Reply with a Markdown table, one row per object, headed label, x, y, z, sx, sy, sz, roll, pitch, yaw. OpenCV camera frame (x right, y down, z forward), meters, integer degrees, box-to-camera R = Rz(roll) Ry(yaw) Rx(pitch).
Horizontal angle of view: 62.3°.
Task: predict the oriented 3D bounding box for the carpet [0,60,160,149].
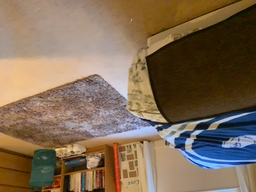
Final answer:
| label | x | y | z | sx | sy | sz | roll | pitch | yaw |
| --- | --- | --- | --- | --- | --- | --- | --- | --- | --- |
| carpet | -0.700 | 0.270 | 2.430 | 1.780 | 0.080 | 1.340 | -15 | 148 | 20 |
